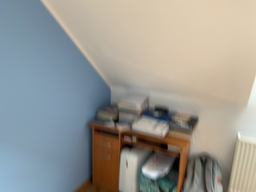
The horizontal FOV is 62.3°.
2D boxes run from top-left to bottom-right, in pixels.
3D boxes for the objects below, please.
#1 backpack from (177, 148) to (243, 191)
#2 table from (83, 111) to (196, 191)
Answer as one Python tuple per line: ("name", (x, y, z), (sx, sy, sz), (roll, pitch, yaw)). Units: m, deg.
("backpack", (0.740, 0.880, 1.940), (0.470, 0.500, 0.530), (9, 17, 25))
("table", (0.100, 0.670, 2.230), (1.030, 0.740, 0.470), (9, 17, 25))
